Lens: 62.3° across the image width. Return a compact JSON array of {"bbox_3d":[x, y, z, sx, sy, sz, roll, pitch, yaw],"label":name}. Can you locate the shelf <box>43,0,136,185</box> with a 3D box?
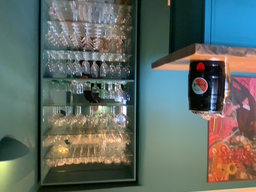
[{"bbox_3d":[-0.420,-0.220,2.430,0.940,2.240,0.460,0,-178,-9],"label":"shelf"}]

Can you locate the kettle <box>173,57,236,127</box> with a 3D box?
[{"bbox_3d":[0.390,-0.020,1.110,0.240,0.330,0.190,0,-178,-9],"label":"kettle"}]
